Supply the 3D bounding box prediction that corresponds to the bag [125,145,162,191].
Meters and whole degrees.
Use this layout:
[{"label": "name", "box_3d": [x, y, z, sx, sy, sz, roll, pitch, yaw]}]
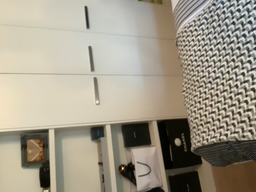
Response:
[{"label": "bag", "box_3d": [0.130, 0.630, 1.860, 0.180, 0.220, 0.350, 139, 126, -61]}]
